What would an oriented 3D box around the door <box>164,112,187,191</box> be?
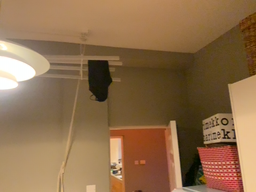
[{"bbox_3d":[0.480,1.210,1.960,0.100,2.030,0.780,-4,-12,7],"label":"door"}]
